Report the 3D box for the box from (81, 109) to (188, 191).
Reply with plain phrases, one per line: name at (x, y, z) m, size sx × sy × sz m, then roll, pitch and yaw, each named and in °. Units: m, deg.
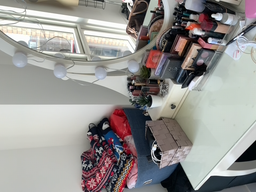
box at (0.000, 0.310, 1.140) m, size 0.370 × 0.410 × 0.310 m, roll -113°, pitch 33°, yaw -43°
